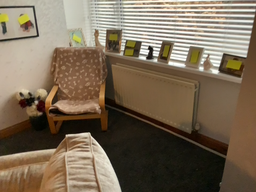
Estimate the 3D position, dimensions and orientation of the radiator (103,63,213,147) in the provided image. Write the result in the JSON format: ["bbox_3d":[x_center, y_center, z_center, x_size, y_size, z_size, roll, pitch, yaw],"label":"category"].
[{"bbox_3d":[0.270,0.040,2.650,1.410,0.630,0.220,19,32,37],"label":"radiator"}]

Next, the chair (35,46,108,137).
[{"bbox_3d":[-0.640,-0.110,2.790,0.700,0.900,0.850,-3,25,-4],"label":"chair"}]
